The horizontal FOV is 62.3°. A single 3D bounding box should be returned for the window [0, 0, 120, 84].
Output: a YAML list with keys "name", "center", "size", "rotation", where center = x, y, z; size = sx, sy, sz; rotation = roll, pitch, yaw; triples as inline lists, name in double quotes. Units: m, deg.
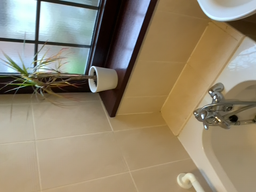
- name: "window"
  center: [-0.520, -0.330, 0.970]
  size: [0.040, 0.940, 0.640]
  rotation: [59, 140, 43]

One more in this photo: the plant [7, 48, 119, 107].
- name: "plant"
  center: [-0.330, -0.090, 1.090]
  size: [0.170, 0.500, 0.210]
  rotation: [60, 141, 42]
